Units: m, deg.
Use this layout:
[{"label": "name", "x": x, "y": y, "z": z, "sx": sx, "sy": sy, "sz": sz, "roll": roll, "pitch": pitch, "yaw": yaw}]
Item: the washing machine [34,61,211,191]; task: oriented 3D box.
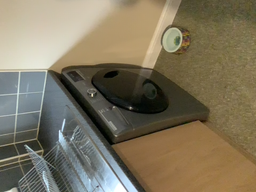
[{"label": "washing machine", "x": -0.060, "y": 0.210, "z": 1.470, "sx": 0.640, "sy": 0.870, "sz": 0.650, "roll": 43, "pitch": 125, "yaw": 36}]
